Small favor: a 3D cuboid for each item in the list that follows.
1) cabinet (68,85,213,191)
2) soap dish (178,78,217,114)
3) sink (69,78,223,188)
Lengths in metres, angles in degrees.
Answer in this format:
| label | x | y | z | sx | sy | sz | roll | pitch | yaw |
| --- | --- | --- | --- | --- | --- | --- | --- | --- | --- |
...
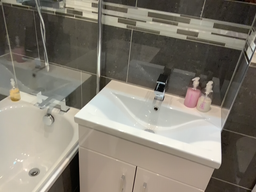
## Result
| label | x | y | z | sx | sy | sz | roll | pitch | yaw |
| --- | --- | --- | --- | --- | --- | --- | --- | --- | --- |
| cabinet | 0.050 | 0.440 | 1.230 | 0.620 | 0.800 | 0.390 | 15 | 32 | 14 |
| soap dish | 0.340 | 0.000 | 1.050 | 0.150 | 0.130 | 0.060 | 15 | 32 | 13 |
| sink | 0.100 | 0.130 | 1.030 | 0.630 | 0.150 | 0.390 | 15 | 32 | 14 |
